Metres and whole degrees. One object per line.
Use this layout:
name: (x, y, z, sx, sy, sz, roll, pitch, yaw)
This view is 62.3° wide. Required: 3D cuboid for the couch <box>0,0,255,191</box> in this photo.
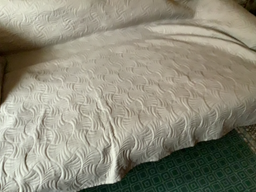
couch: (-0.370, -0.140, 1.120, 2.140, 0.700, 1.220, -16, 52, -14)
